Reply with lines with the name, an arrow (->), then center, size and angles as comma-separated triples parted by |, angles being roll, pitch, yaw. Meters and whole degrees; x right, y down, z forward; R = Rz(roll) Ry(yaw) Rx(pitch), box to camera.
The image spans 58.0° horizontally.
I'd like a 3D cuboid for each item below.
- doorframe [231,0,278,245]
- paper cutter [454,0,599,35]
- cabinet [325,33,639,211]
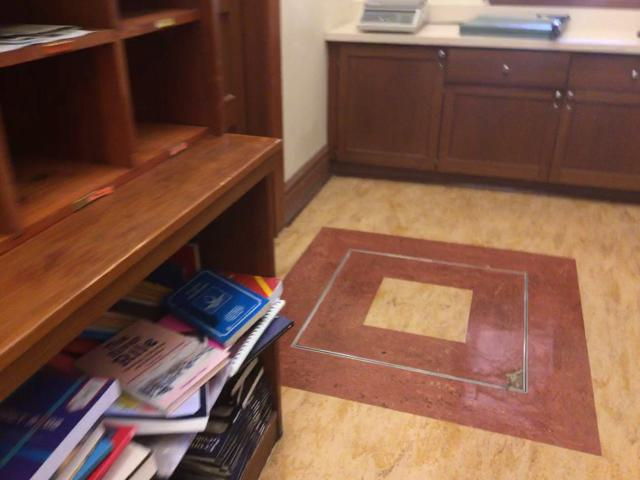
doorframe -> -0.280, -0.570, 2.490 | 0.110, 1.280, 0.070 | 8, 28, 18
paper cutter -> 1.040, -1.130, 2.910 | 0.610, 0.090, 0.710 | 8, 28, 18
cabinet -> 0.970, -0.630, 3.020 | 1.940, 0.800, 0.130 | 8, 28, 18
